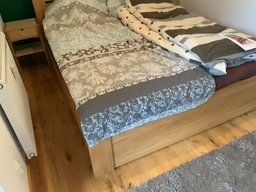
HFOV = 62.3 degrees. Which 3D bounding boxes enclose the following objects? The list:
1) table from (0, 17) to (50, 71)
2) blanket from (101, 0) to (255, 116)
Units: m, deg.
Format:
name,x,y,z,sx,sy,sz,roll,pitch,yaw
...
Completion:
name,x,y,z,sx,sy,sz,roll,pitch,yaw
table,-1.330,-0.680,2.760,0.430,0.520,0.360,-17,39,-19
blanket,0.440,-0.660,2.190,0.780,0.400,2.000,-17,39,-19
